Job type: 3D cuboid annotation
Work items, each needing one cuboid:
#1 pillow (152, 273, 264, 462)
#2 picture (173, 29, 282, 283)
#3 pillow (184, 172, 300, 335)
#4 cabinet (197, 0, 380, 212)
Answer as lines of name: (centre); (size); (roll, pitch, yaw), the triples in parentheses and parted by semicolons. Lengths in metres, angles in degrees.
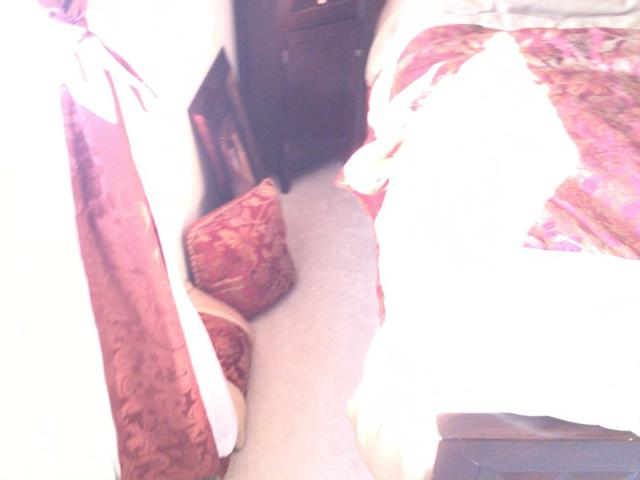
pillow: (-0.290, 0.340, 1.630); (0.200, 0.220, 0.490); (-2, 37, 2)
picture: (-0.290, -0.310, 2.080); (0.210, 0.690, 0.610); (-2, 37, 2)
pillow: (-0.230, 0.040, 1.900); (0.290, 0.380, 0.370); (-2, 37, 2)
cabinet: (-0.100, -0.970, 2.140); (0.600, 1.660, 0.600); (-2, 37, 2)
